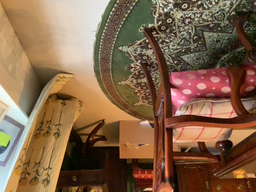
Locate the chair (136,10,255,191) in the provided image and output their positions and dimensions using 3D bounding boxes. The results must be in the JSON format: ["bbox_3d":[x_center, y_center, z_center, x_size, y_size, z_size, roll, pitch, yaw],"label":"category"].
[{"bbox_3d":[0.370,0.080,1.230,0.560,0.960,0.610,0,148,-3],"label":"chair"}]

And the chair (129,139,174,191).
[{"bbox_3d":[0.300,1.180,3.020,0.550,0.950,0.610,-1,148,-1],"label":"chair"}]
